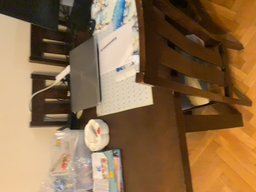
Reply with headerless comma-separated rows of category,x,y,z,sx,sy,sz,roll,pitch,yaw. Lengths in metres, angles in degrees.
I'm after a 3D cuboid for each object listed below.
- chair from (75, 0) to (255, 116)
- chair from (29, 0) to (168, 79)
chair,0.270,-0.140,1.140,0.420,0.990,0.450,-13,77,46
chair,-0.180,-0.440,1.660,0.430,0.990,0.410,-14,76,46
